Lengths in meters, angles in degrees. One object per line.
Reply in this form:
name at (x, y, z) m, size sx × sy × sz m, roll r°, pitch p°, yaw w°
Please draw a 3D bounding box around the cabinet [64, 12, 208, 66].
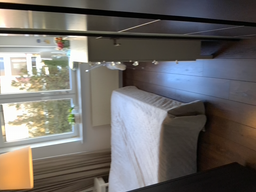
cabinet at (0.050, -0.550, 2.220) m, size 0.790 × 1.260 × 0.400 m, roll -157°, pitch 65°, yaw -63°
